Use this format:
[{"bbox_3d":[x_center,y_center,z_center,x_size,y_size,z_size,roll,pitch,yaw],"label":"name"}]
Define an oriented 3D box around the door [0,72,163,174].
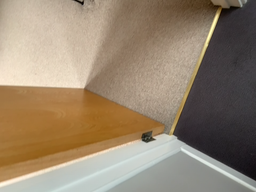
[{"bbox_3d":[-0.700,0.040,0.640,0.760,2.180,0.060,26,105,31],"label":"door"}]
